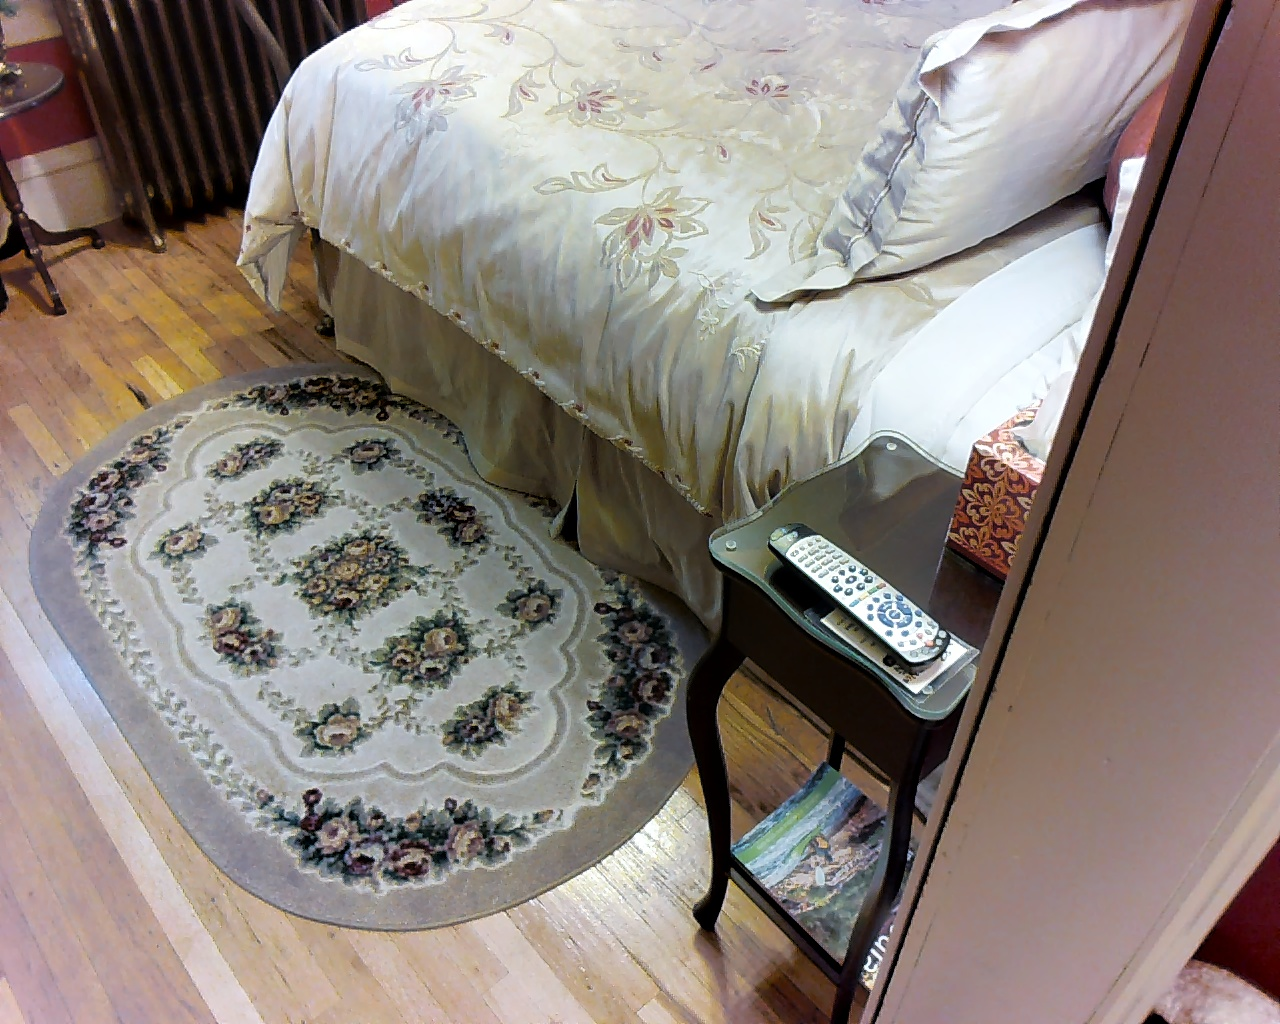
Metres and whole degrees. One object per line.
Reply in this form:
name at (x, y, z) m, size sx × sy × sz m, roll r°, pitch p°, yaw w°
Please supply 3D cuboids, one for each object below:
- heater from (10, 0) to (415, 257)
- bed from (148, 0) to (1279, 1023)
heater at (-1.190, -1.350, 3.060) m, size 0.930 × 0.920 × 0.320 m, roll -31°, pitch 50°, yaw -29°
bed at (0.620, -0.950, 2.190) m, size 2.320 × 1.590 × 2.320 m, roll -31°, pitch 50°, yaw -29°
